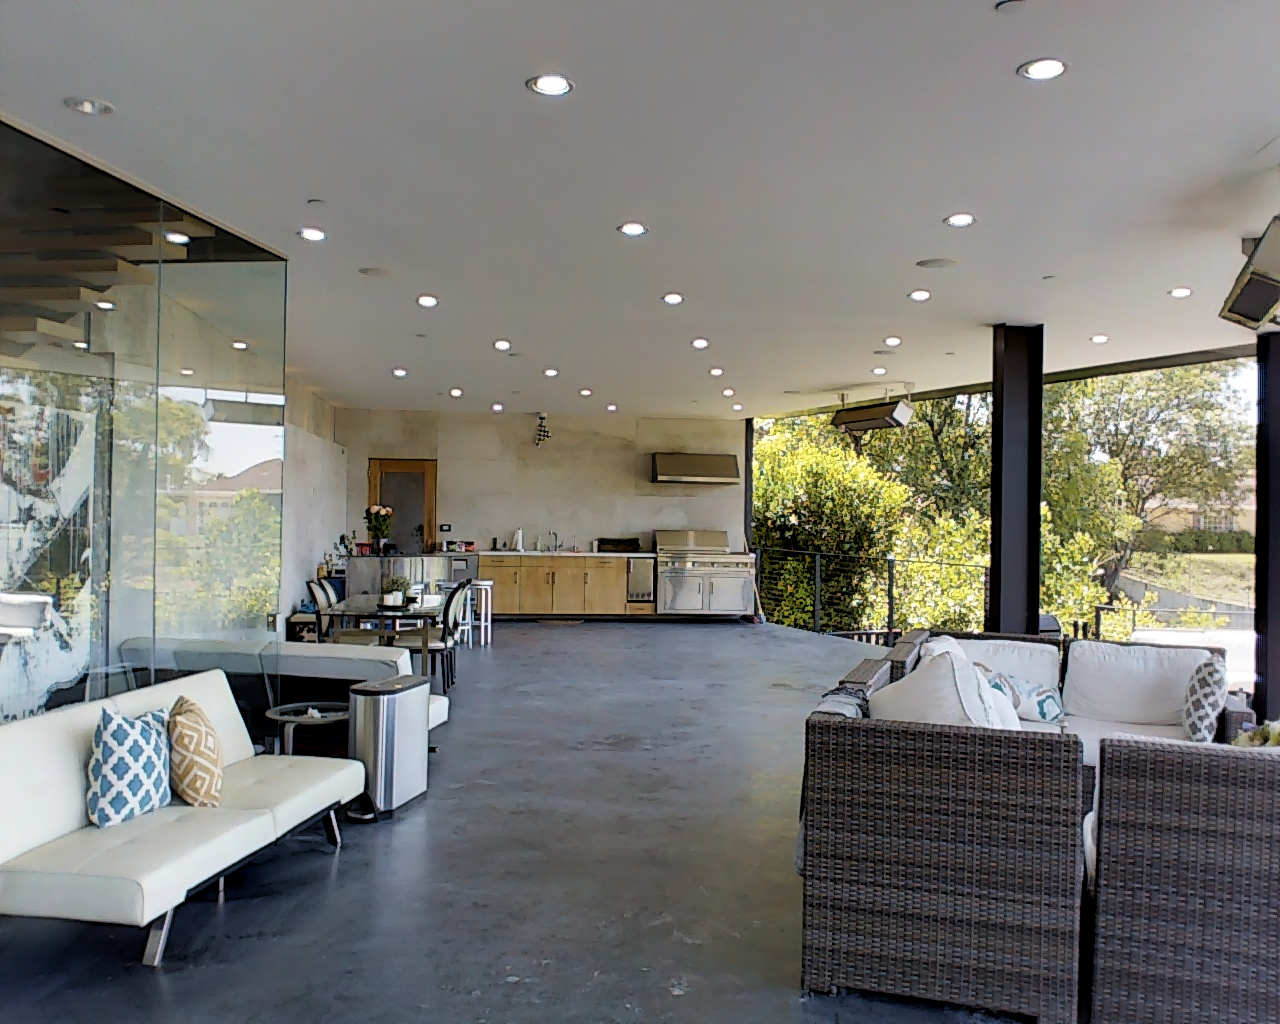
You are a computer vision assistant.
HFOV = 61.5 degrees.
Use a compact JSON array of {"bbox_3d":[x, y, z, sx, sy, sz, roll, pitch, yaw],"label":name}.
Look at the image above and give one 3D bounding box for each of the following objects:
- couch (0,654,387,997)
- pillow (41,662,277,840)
[{"bbox_3d":[-1.880,1.130,4.460,0.910,0.790,2.000,1,0,9],"label":"couch"},{"bbox_3d":[-1.920,0.940,4.390,0.350,0.430,0.850,25,4,8],"label":"pillow"}]
